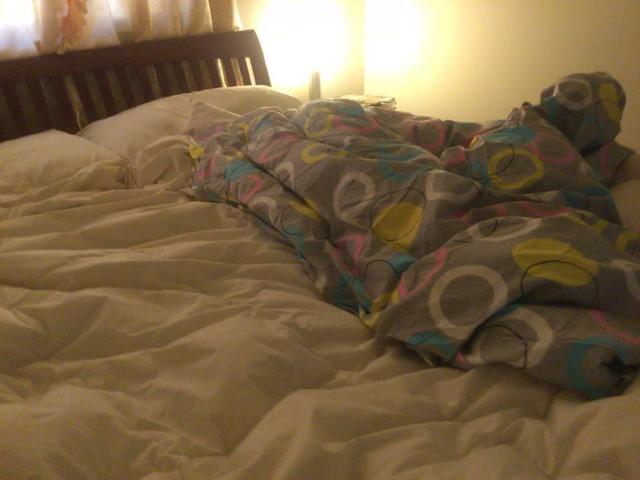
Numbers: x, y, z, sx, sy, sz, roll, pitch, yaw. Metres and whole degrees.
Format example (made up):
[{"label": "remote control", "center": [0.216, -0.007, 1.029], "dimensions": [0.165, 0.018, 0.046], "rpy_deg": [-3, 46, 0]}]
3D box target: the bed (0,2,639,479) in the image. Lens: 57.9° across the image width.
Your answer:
[{"label": "bed", "center": [-0.050, 0.160, 1.420], "dimensions": [2.340, 1.250, 2.010], "rpy_deg": [16, 30, 37]}]
